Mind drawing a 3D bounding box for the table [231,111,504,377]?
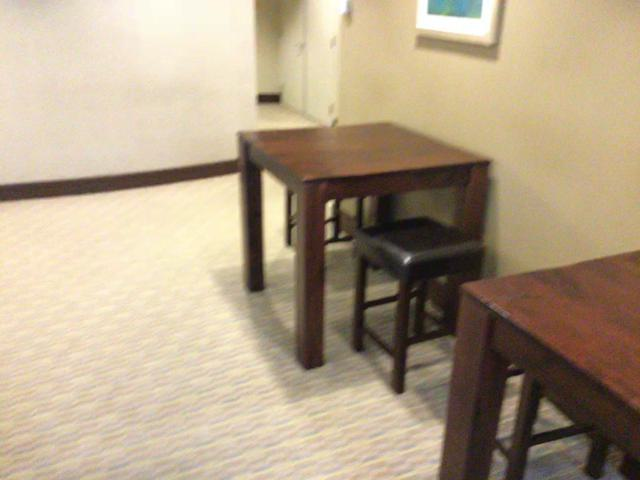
[{"bbox_3d":[0.150,-0.070,2.930,0.960,1.000,0.930,-5,23,-23],"label":"table"}]

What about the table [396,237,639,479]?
[{"bbox_3d":[0.880,0.630,1.360,0.980,0.950,1.000,-5,23,-23],"label":"table"}]
